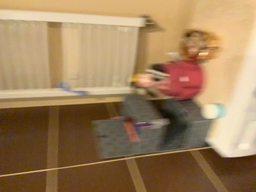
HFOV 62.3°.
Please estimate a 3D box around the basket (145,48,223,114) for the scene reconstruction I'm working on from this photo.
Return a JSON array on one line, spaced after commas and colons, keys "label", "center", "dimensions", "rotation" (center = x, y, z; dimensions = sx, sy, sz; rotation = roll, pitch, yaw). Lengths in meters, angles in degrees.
[{"label": "basket", "center": [0.270, -0.090, 1.100], "dimensions": [0.240, 0.260, 0.260], "rotation": [-125, 36, -59]}]
